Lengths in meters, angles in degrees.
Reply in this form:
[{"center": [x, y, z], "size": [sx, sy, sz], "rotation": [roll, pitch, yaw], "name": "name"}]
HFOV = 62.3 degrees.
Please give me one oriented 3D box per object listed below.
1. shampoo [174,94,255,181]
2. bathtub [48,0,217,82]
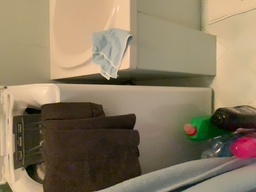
[{"center": [0.390, 0.120, 0.820], "size": [0.290, 0.300, 0.240], "rotation": [4, 94, 50], "name": "shampoo"}, {"center": [-0.020, -0.780, 1.110], "size": [0.730, 0.550, 1.380], "rotation": [2, 93, 50], "name": "bathtub"}]
